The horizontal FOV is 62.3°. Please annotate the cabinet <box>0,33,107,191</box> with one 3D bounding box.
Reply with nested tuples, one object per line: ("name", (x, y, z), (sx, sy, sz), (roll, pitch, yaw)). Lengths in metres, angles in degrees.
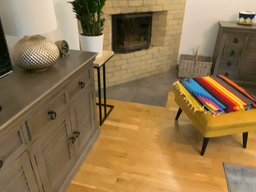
("cabinet", (-0.690, 0.230, 1.400), (0.500, 0.850, 1.800), (9, 30, 12))
